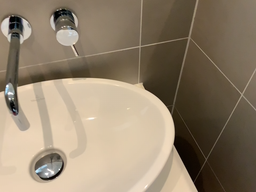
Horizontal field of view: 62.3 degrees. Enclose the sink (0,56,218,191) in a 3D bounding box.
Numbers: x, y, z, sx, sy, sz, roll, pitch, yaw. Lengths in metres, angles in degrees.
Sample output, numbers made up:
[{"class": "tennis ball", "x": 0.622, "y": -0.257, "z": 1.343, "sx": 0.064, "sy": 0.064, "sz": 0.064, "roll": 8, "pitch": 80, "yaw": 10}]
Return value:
[{"class": "sink", "x": -0.180, "y": 0.120, "z": 0.460, "sx": 0.580, "sy": 0.110, "sz": 0.370, "roll": -14, "pitch": 48, "yaw": -12}]
